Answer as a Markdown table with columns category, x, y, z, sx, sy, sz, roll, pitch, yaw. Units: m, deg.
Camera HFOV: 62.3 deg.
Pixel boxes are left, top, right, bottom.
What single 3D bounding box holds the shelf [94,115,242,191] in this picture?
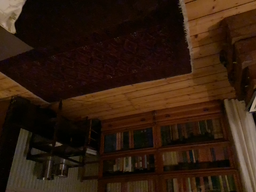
| category | x | y | z | sx | sy | sz | roll | pitch | yaw |
| --- | --- | --- | --- | --- | --- | --- | --- | --- | --- |
| shelf | 0.420 | 0.890 | 2.790 | 1.750 | 0.940 | 0.350 | -12 | 149 | 20 |
